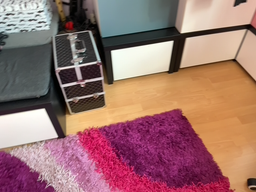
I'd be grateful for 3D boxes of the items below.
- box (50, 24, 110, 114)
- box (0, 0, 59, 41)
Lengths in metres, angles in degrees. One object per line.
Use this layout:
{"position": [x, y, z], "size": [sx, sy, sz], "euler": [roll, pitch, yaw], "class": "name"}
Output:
{"position": [-0.320, -0.190, 1.430], "size": [0.280, 0.370, 0.430], "euler": [-12, 49, -10], "class": "box"}
{"position": [-0.730, -0.580, 1.460], "size": [0.430, 0.200, 0.320], "euler": [-11, 49, -10], "class": "box"}
